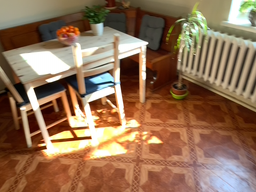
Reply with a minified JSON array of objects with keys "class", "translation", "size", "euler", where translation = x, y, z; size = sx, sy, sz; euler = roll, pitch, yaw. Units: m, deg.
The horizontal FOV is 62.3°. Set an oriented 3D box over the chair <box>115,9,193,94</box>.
[{"class":"chair","translation":[0.310,-0.630,2.840],"size":[0.580,0.820,0.770],"euler":[-25,40,-31]}]
